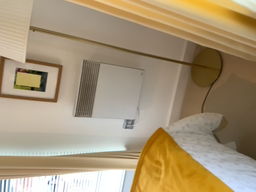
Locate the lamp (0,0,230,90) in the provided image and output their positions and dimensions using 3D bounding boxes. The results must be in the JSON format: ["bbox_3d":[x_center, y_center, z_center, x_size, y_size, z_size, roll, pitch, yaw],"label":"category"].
[{"bbox_3d":[-0.060,-0.330,1.180,0.270,1.450,0.360,-32,57,56],"label":"lamp"}]
